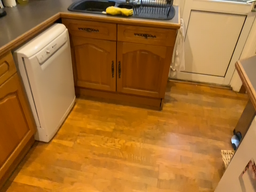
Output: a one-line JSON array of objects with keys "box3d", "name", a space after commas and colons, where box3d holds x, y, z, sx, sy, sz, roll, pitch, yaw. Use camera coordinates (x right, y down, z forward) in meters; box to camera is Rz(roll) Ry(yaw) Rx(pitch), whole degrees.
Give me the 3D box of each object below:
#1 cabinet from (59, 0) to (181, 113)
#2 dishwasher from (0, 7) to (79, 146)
[{"box3d": [-0.050, -0.450, 2.220, 0.980, 0.960, 0.630, 7, 37, 6], "name": "cabinet"}, {"box3d": [-0.900, -0.170, 1.810, 0.700, 0.930, 0.620, 7, 37, 6], "name": "dishwasher"}]
